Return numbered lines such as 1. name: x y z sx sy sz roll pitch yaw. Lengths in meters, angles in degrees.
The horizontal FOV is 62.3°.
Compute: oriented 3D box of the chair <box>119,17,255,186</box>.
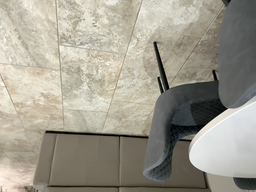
1. chair: 0.350 0.080 1.390 0.630 0.820 0.540 -18 144 24
